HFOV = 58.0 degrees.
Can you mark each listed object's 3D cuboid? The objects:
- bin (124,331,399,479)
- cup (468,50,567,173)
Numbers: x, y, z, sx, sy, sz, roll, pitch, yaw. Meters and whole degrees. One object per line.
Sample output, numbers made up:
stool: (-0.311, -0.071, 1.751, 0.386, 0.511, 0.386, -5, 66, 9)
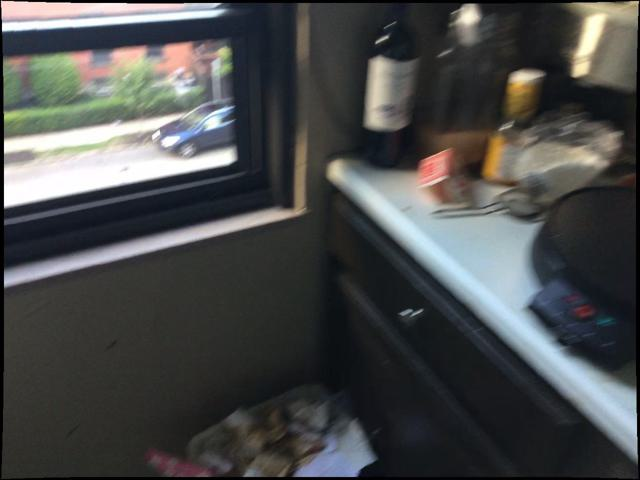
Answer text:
bin: (-0.130, 0.511, 1.260, 0.459, 0.421, 0.290, -16, 44, -23)
cup: (0.319, -0.211, 0.950, 0.080, 0.170, 0.080, -16, 44, -23)
